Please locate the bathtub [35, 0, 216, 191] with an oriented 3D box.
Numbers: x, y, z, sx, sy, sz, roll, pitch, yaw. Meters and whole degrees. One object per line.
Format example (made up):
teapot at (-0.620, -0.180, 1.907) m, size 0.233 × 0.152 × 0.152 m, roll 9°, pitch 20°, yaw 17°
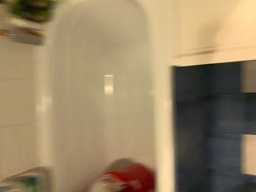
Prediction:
bathtub at (-0.010, 0.190, 1.100) m, size 0.660 × 0.590 × 1.340 m, roll 6°, pitch 97°, yaw 33°
